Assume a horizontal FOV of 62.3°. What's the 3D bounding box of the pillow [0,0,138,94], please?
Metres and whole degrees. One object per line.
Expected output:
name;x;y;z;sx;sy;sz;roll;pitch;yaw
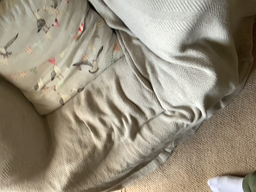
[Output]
pillow;-0.250;-0.200;0.750;0.350;0.430;0.180;-39;106;-31
